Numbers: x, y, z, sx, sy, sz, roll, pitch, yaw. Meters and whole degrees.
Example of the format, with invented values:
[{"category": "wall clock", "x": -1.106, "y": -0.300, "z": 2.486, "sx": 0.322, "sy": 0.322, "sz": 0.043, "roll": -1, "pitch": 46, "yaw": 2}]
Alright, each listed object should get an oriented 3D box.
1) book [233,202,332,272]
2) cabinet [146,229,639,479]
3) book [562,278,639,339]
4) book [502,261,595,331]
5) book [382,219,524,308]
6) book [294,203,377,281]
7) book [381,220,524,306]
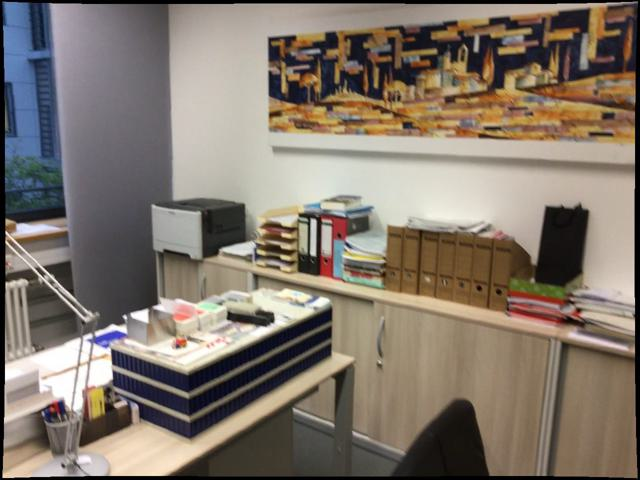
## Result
[{"category": "book", "x": -0.200, "y": -0.030, "z": 3.160, "sx": 0.370, "sy": 0.270, "sz": 0.390, "roll": 10, "pitch": 16, "yaw": 35}, {"category": "cabinet", "x": 0.330, "y": 0.591, "z": 2.730, "sx": 3.168, "sy": 0.821, "sz": 0.310, "roll": 10, "pitch": 16, "yaw": 35}, {"category": "book", "x": 1.179, "y": 0.270, "z": 2.290, "sx": 0.340, "sy": 0.120, "sz": 0.260, "roll": 10, "pitch": 16, "yaw": 35}, {"category": "book", "x": 0.949, "y": 0.220, "z": 2.400, "sx": 0.280, "sy": 0.170, "sz": 0.290, "roll": 10, "pitch": 16, "yaw": 35}, {"category": "book", "x": 0.569, "y": 0.090, "z": 2.550, "sx": 0.590, "sy": 0.290, "sz": 0.100, "roll": 9, "pitch": 15, "yaw": 30}, {"category": "book", "x": 0.080, "y": 0.000, "z": 2.990, "sx": 0.290, "sy": 0.310, "sz": 0.320, "roll": 10, "pitch": 16, "yaw": 35}, {"category": "book", "x": 0.569, "y": 0.090, "z": 2.550, "sx": 0.590, "sy": 0.280, "sz": 0.100, "roll": 8, "pitch": 15, "yaw": 28}]
